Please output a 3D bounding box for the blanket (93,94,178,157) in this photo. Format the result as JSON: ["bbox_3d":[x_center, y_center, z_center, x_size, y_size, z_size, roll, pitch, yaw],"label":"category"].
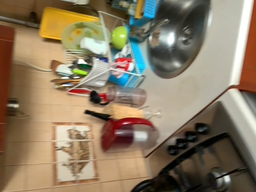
[{"bbox_3d":[0.020,0.150,1.020,0.260,0.290,0.180,-54,41,45],"label":"blanket"}]

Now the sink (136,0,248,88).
[{"bbox_3d":[0.270,-0.300,1.020,0.470,0.200,0.460,17,101,62],"label":"sink"}]

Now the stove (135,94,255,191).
[{"bbox_3d":[0.230,0.400,0.720,0.560,0.030,0.600,-54,41,46],"label":"stove"}]
